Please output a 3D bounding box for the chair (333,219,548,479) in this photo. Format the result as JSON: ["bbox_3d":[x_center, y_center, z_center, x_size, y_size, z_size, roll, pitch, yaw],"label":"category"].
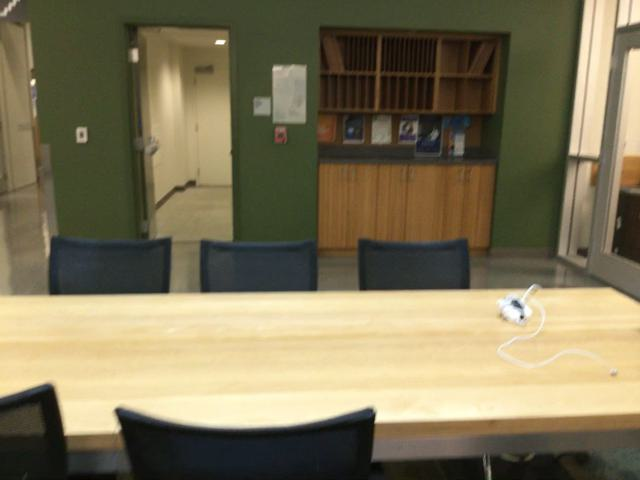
[{"bbox_3d":[0.370,0.440,2.140,0.570,0.920,0.670,1,13,-3],"label":"chair"}]

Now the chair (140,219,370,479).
[{"bbox_3d":[-0.210,0.440,2.100,0.660,0.910,0.670,1,13,-3],"label":"chair"}]

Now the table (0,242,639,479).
[{"bbox_3d":[-0.020,0.570,1.840,2.520,0.860,1.160,1,13,-3],"label":"table"}]

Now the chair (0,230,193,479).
[{"bbox_3d":[-0.780,0.440,2.080,0.520,0.840,0.600,1,13,-3],"label":"chair"}]

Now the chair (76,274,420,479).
[{"bbox_3d":[-0.140,0.630,1.370,0.560,0.950,0.650,1,13,-3],"label":"chair"}]
